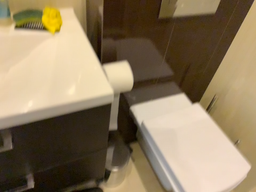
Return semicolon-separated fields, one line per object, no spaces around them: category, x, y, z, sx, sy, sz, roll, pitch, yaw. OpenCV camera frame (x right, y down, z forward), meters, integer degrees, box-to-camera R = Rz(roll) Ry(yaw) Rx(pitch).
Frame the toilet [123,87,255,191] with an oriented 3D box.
toilet;0.290;0.340;1.190;0.410;0.460;0.550;-13;52;-20

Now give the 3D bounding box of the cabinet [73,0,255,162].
cabinet;0.120;-0.160;1.130;0.720;1.280;0.250;-14;52;-20
